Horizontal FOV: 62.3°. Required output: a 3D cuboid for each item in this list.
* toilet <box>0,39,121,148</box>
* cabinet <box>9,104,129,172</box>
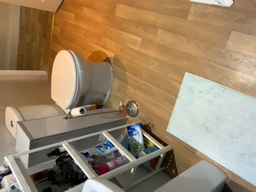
[{"bbox_3d":[-0.560,-0.060,1.760,0.400,0.830,0.650,31,116,37],"label":"toilet"},{"bbox_3d":[-0.400,0.270,1.630,0.260,0.850,0.220,35,118,36],"label":"cabinet"}]
